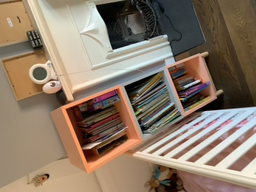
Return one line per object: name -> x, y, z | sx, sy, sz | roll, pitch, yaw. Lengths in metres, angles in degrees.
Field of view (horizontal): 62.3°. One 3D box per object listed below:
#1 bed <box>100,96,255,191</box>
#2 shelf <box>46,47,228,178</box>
bed -> 0.590, 0.510, 1.270 | 1.410, 0.860, 0.750 | -17, 95, 62
shelf -> 0.110, 0.040, 1.450 | 0.390, 1.160, 0.380 | -14, 98, 62
